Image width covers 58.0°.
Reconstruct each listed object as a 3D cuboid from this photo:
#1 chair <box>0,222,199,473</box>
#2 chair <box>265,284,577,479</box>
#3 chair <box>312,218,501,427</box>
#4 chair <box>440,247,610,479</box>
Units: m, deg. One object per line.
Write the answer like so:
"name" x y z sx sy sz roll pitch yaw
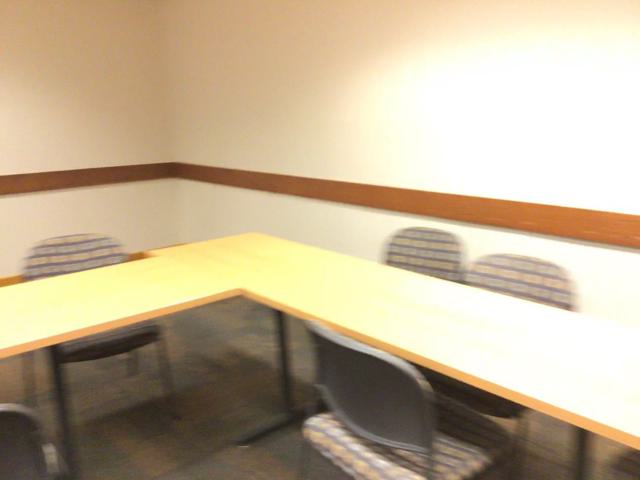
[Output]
"chair" -0.920 0.370 2.400 0.570 0.780 0.630 -7 13 -42
"chair" 0.260 0.590 1.630 0.580 0.750 0.600 -7 13 -42
"chair" 0.370 0.300 2.520 0.610 0.700 0.510 -7 13 -42
"chair" 0.750 0.470 2.180 0.240 0.800 0.490 -8 13 -43
